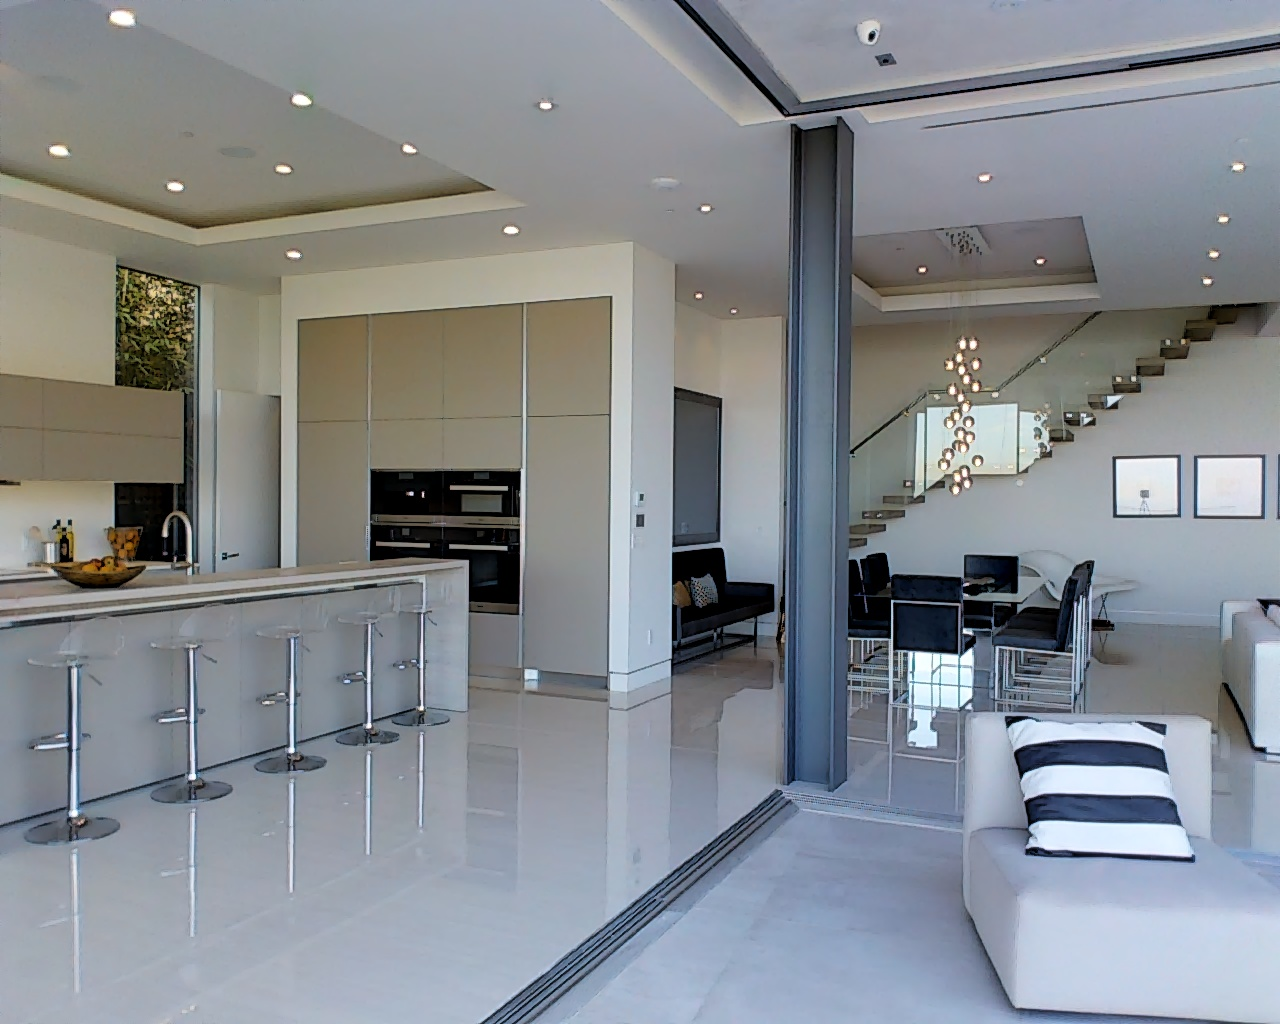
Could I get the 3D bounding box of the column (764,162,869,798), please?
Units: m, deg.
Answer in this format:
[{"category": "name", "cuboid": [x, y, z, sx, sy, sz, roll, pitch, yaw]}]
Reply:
[{"category": "column", "cuboid": [0.940, -0.160, 5.710, 0.430, 3.200, 0.440, 1, 1, 25]}]
